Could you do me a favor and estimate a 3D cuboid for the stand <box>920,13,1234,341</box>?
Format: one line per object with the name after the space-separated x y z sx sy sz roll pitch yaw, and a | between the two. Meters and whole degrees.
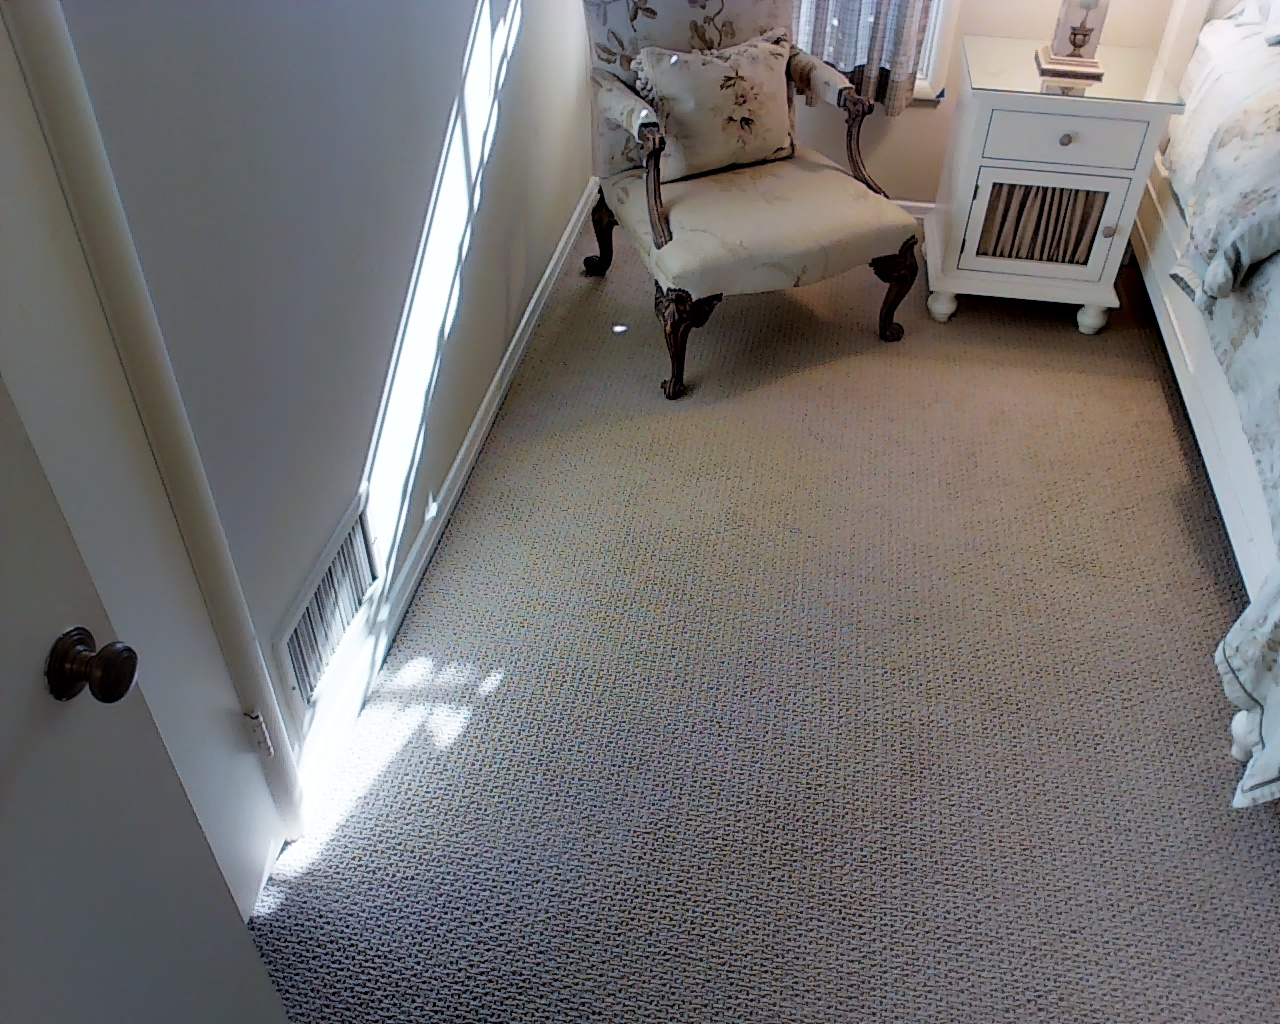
1.160 -0.940 3.020 0.600 0.690 0.510 6 42 7 | stand
